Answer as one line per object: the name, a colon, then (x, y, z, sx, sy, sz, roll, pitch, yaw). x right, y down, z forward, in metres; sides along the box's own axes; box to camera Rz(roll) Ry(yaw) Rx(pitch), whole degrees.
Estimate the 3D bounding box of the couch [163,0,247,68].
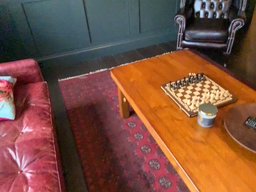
couch: (1.010, -1.100, 2.770, 0.840, 1.040, 0.880, 12, 41, 20)
